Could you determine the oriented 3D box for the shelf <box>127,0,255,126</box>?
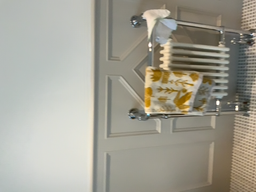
[{"bbox_3d":[0.420,-0.210,1.360,0.240,0.800,0.710,-168,78,-67],"label":"shelf"}]
